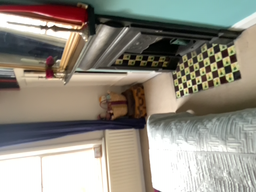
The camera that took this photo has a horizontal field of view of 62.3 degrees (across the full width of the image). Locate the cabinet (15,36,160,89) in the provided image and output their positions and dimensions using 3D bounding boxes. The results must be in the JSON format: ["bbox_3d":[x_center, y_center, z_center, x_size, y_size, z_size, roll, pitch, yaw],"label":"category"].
[{"bbox_3d":[-0.560,-0.390,3.020,0.880,1.800,0.390,156,110,-64],"label":"cabinet"}]
